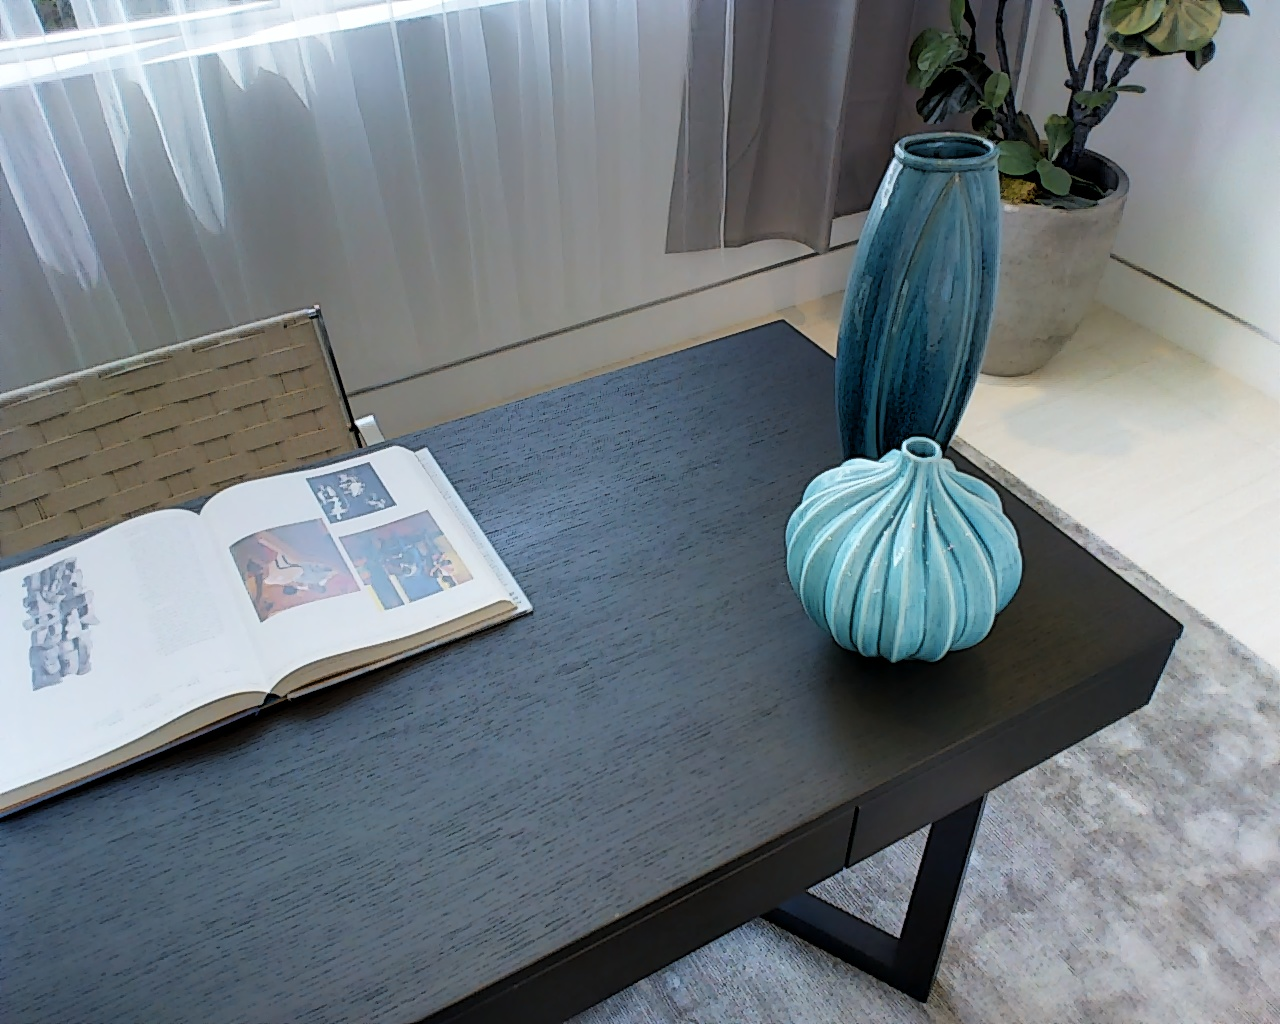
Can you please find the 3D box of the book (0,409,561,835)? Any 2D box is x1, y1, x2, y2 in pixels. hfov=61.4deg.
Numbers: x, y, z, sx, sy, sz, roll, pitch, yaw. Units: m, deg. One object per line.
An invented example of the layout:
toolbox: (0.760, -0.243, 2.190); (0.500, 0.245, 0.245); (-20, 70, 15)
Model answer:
book: (-0.420, 0.080, 1.130); (0.570, 0.040, 0.360); (-21, 44, -22)

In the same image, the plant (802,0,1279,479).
plant: (1.040, -1.140, 2.370); (0.810, 1.750, 0.950); (-21, 44, -22)
